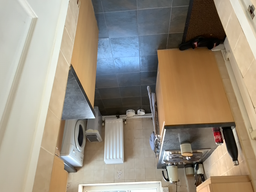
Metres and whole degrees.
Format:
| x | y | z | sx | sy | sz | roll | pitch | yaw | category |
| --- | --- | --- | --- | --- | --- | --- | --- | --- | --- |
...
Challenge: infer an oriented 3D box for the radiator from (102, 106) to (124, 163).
| x | y | z | sx | sy | sz | roll | pitch | yaw | category |
| --- | --- | --- | --- | --- | --- | --- | --- | --- | --- |
| -0.240 | 0.590 | 3.380 | 0.320 | 0.900 | 0.130 | -3 | 150 | 1 | radiator |
